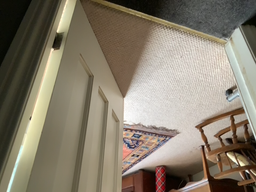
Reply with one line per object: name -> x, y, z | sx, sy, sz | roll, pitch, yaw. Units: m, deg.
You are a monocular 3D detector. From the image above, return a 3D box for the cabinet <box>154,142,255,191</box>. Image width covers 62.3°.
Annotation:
cabinet -> 0.840, 1.150, 2.500 | 0.610, 0.770, 1.090 | 11, 144, -15

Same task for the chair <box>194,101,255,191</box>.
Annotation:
chair -> 0.800, 0.460, 1.590 | 0.350, 0.670, 0.370 | -29, 136, 36
